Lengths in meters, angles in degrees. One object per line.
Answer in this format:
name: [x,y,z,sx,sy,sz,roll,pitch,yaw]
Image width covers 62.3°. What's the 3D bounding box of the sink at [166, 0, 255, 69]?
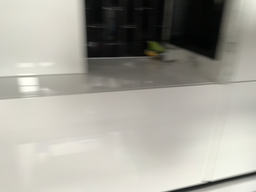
sink: [0.420,-0.440,1.150,0.500,0.180,0.450,-126,34,-60]
